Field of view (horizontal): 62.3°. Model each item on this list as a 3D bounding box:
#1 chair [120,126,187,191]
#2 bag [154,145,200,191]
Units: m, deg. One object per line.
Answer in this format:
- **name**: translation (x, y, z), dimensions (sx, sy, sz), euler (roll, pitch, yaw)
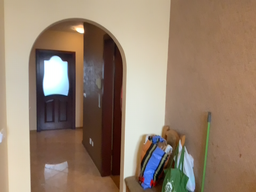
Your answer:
- **chair**: translation (0.230, 0.840, 2.160), dimensions (0.530, 0.970, 0.390), euler (0, 6, -18)
- **bag**: translation (0.420, 0.830, 1.900), dimensions (0.280, 0.700, 0.260), euler (0, 6, -14)
